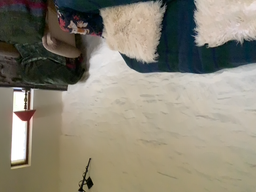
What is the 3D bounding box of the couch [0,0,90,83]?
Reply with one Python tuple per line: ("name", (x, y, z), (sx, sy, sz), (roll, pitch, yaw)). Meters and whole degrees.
("couch", (-1.070, -0.620, 2.510), (0.920, 0.830, 1.090), (2, 179, 6))
